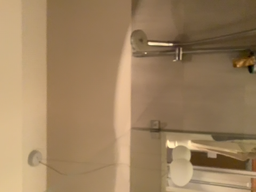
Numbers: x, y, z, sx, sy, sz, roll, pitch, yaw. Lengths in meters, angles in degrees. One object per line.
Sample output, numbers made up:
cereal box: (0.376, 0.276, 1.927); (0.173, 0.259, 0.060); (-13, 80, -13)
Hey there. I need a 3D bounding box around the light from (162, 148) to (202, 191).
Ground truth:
light: (0.270, 0.360, 1.070); (0.190, 0.180, 0.130); (-9, -80, -75)
